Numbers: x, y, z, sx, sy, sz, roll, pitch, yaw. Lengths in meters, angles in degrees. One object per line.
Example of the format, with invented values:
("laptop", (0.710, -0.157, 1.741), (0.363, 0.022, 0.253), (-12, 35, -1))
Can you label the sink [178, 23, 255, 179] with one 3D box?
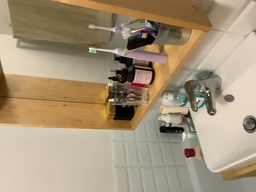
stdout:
("sink", (0.410, 0.060, 0.800), (0.510, 0.130, 0.360), (117, 152, -51))
